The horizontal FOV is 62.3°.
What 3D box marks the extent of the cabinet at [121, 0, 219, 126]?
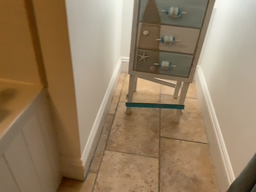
[{"bbox_3d":[0.220,-0.330,1.330,0.430,1.000,0.350,8,36,5],"label":"cabinet"}]
